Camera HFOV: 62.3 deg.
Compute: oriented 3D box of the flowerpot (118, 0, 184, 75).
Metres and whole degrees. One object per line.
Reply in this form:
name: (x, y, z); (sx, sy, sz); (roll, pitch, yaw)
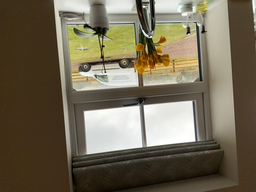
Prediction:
flowerpot: (0.120, -0.320, 1.170); (0.300, 0.380, 0.170); (-4, -177, -12)
